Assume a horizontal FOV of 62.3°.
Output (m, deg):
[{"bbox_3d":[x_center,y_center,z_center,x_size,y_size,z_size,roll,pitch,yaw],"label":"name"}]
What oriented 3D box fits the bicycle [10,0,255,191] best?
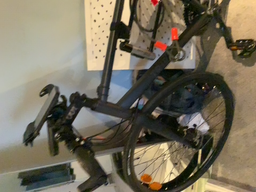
[{"bbox_3d":[0.120,-0.310,0.880,0.570,0.930,1.760,20,109,39],"label":"bicycle"}]
